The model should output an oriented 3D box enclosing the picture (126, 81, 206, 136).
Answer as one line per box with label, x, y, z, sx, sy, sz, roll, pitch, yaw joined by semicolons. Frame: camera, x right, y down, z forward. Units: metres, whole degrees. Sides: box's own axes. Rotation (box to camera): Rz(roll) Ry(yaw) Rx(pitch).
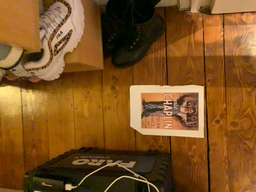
picture;0.150;0.050;0.860;0.310;0.030;0.210;-1;91;14
